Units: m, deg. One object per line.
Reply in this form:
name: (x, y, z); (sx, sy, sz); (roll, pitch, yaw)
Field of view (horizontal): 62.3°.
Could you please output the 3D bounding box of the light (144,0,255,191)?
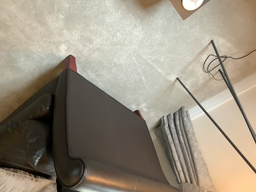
light: (0.740, 0.310, 1.230); (0.590, 1.650, 0.820); (-32, 138, 22)
